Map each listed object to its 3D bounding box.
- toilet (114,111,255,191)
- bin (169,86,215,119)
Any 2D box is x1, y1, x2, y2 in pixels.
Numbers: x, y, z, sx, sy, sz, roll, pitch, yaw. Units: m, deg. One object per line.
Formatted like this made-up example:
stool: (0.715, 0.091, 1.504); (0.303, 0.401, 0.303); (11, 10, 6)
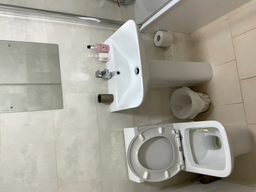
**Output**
toilet: (0.420, 0.360, 1.520); (0.600, 0.830, 0.390); (-17, 78, 59)
bin: (0.550, 0.060, 1.830); (0.250, 0.250, 0.250); (-15, 80, 59)
